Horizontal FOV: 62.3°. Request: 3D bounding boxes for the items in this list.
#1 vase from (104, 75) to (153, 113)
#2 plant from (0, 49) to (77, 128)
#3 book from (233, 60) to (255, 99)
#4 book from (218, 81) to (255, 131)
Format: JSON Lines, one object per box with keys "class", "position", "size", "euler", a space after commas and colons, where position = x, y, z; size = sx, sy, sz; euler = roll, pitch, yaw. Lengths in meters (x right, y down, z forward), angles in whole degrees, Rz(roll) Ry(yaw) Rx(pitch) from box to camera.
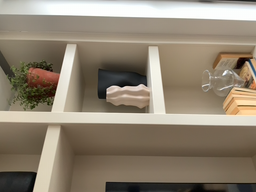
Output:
{"class": "vase", "position": [0.000, -0.010, 1.100], "size": [0.150, 0.230, 0.130], "euler": [94, 177, -56]}
{"class": "plant", "position": [-0.470, -0.030, 1.110], "size": [0.310, 0.310, 0.280], "euler": [93, 177, -54]}
{"class": "book", "position": [0.660, -0.090, 1.170], "size": [0.140, 0.060, 0.160], "euler": [94, 177, -57]}
{"class": "book", "position": [0.570, 0.050, 1.040], "size": [0.150, 0.160, 0.190], "euler": [94, 177, -57]}
